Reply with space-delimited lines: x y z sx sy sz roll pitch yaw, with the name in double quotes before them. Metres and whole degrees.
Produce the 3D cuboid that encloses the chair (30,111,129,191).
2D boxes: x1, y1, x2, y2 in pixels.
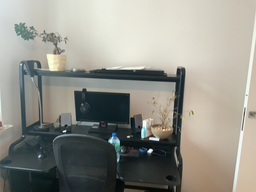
"chair" -0.330 0.700 1.740 0.560 0.990 0.650 4 11 7
